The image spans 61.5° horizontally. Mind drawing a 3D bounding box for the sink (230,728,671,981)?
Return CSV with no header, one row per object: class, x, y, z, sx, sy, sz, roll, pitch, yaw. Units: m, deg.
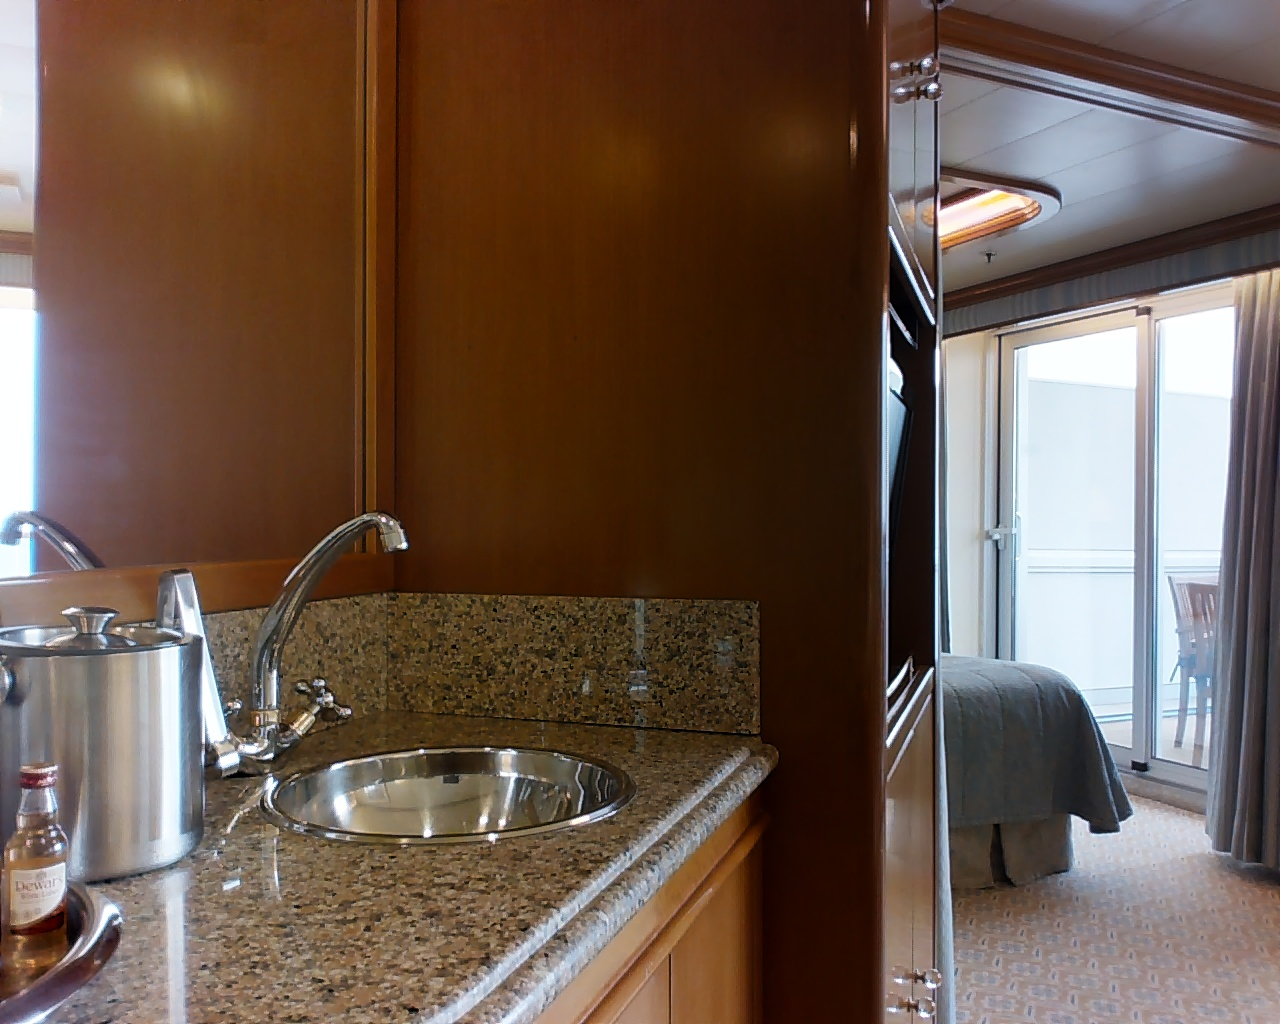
sink,-0.150,0.290,0.980,0.290,0.110,0.310,0,0,15
